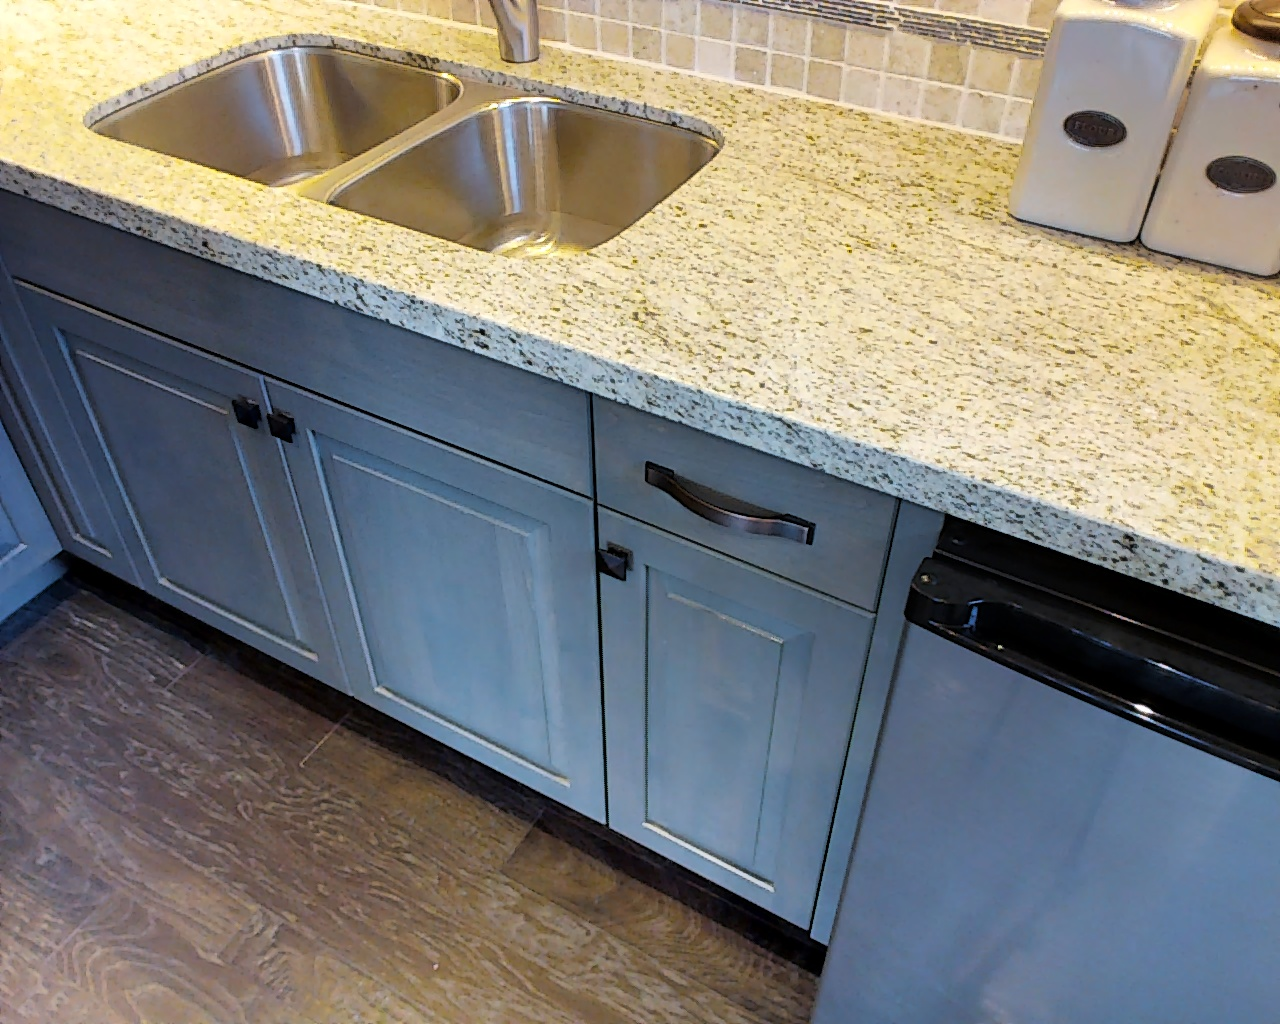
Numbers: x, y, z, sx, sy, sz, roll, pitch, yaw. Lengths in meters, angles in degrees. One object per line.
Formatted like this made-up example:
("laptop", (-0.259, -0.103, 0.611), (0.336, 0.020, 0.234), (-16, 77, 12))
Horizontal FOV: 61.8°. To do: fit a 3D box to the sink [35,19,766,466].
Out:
("sink", (-0.290, -0.390, 1.380), (0.770, 0.230, 0.440), (20, 46, 21))
